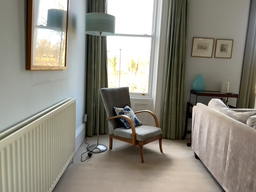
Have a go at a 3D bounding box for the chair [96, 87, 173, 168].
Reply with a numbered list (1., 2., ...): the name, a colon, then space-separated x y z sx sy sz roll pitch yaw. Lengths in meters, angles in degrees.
1. chair: 0.070 0.360 2.970 0.860 0.850 0.570 10 11 38
